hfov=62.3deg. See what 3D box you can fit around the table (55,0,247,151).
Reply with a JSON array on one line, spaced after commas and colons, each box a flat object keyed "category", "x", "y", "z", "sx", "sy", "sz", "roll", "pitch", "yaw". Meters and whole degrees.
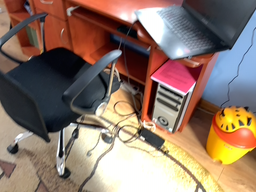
[{"category": "table", "x": 0.080, "y": -0.250, "z": 1.390, "sx": 0.920, "sy": 0.740, "sz": 0.470, "roll": 30, "pitch": 52, "yaw": 23}]
